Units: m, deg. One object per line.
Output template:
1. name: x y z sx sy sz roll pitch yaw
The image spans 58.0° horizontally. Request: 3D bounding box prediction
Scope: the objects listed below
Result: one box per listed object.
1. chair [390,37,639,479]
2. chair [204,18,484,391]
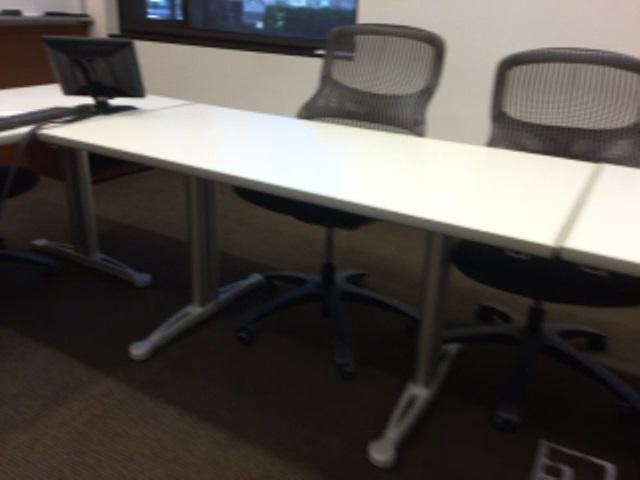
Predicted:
1. chair: 0.660 -0.020 1.660 0.660 1.020 0.740 10 22 18
2. chair: 0.080 -0.190 2.010 0.640 1.040 0.680 15 24 27
